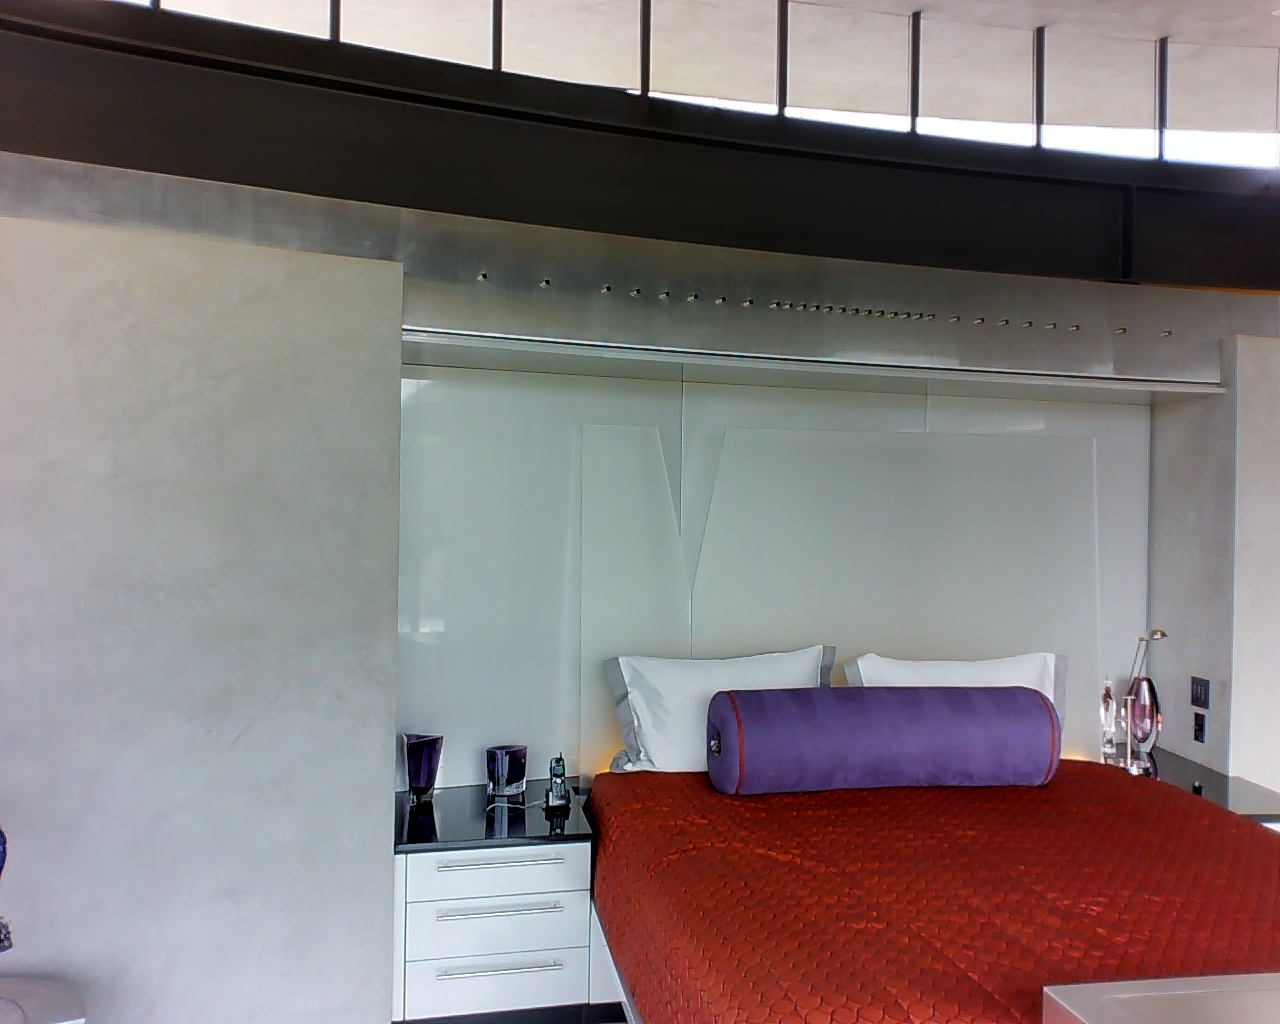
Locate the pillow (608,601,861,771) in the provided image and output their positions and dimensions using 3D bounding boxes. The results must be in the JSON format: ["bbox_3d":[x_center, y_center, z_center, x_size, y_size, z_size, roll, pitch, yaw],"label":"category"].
[{"bbox_3d":[0.320,0.600,3.730,0.790,0.490,0.290,6,-2,-9],"label":"pillow"}]

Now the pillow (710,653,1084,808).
[{"bbox_3d":[0.830,0.710,3.500,1.130,0.370,0.300,6,-2,-8],"label":"pillow"}]

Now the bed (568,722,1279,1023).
[{"bbox_3d":[0.940,1.200,2.860,2.010,0.770,2.090,6,-2,-9],"label":"bed"}]
